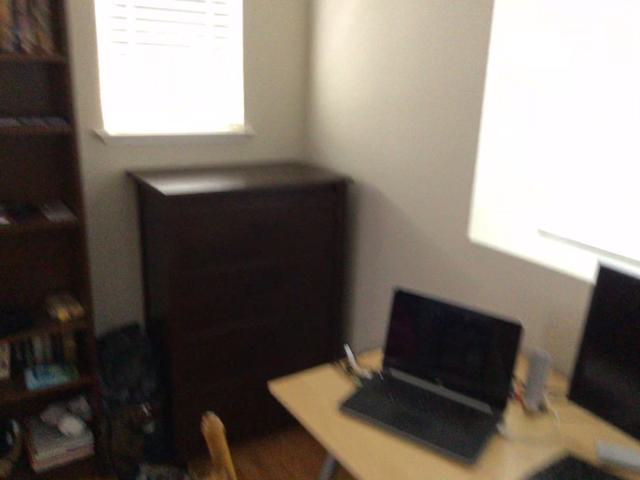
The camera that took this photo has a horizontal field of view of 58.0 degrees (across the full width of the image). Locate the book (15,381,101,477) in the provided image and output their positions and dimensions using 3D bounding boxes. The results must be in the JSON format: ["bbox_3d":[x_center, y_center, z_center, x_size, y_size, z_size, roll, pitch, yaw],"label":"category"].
[{"bbox_3d":[-1.030,0.730,2.270,0.250,0.200,0.260,-7,18,-34],"label":"book"}]
